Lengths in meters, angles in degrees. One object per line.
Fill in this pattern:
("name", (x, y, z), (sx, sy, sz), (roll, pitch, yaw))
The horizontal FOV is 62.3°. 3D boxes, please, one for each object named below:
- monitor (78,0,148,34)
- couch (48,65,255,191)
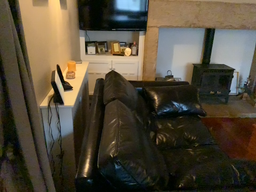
("monitor", (-0.200, -1.160, 2.850), (0.910, 0.550, 0.060), (2, 23, -11))
("couch", (0.230, 0.400, 1.710), (1.110, 0.860, 1.750), (1, 22, -3))
